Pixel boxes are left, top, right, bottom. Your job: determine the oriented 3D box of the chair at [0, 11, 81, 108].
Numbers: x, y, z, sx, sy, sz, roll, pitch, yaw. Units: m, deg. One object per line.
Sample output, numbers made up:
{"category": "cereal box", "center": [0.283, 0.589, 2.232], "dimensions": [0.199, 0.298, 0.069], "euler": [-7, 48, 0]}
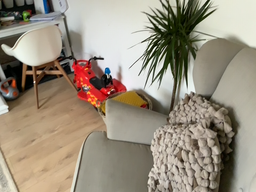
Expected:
{"category": "chair", "center": [-0.940, -0.420, 2.340], "dimensions": [0.500, 0.810, 0.580], "euler": [-25, 41, -30]}
